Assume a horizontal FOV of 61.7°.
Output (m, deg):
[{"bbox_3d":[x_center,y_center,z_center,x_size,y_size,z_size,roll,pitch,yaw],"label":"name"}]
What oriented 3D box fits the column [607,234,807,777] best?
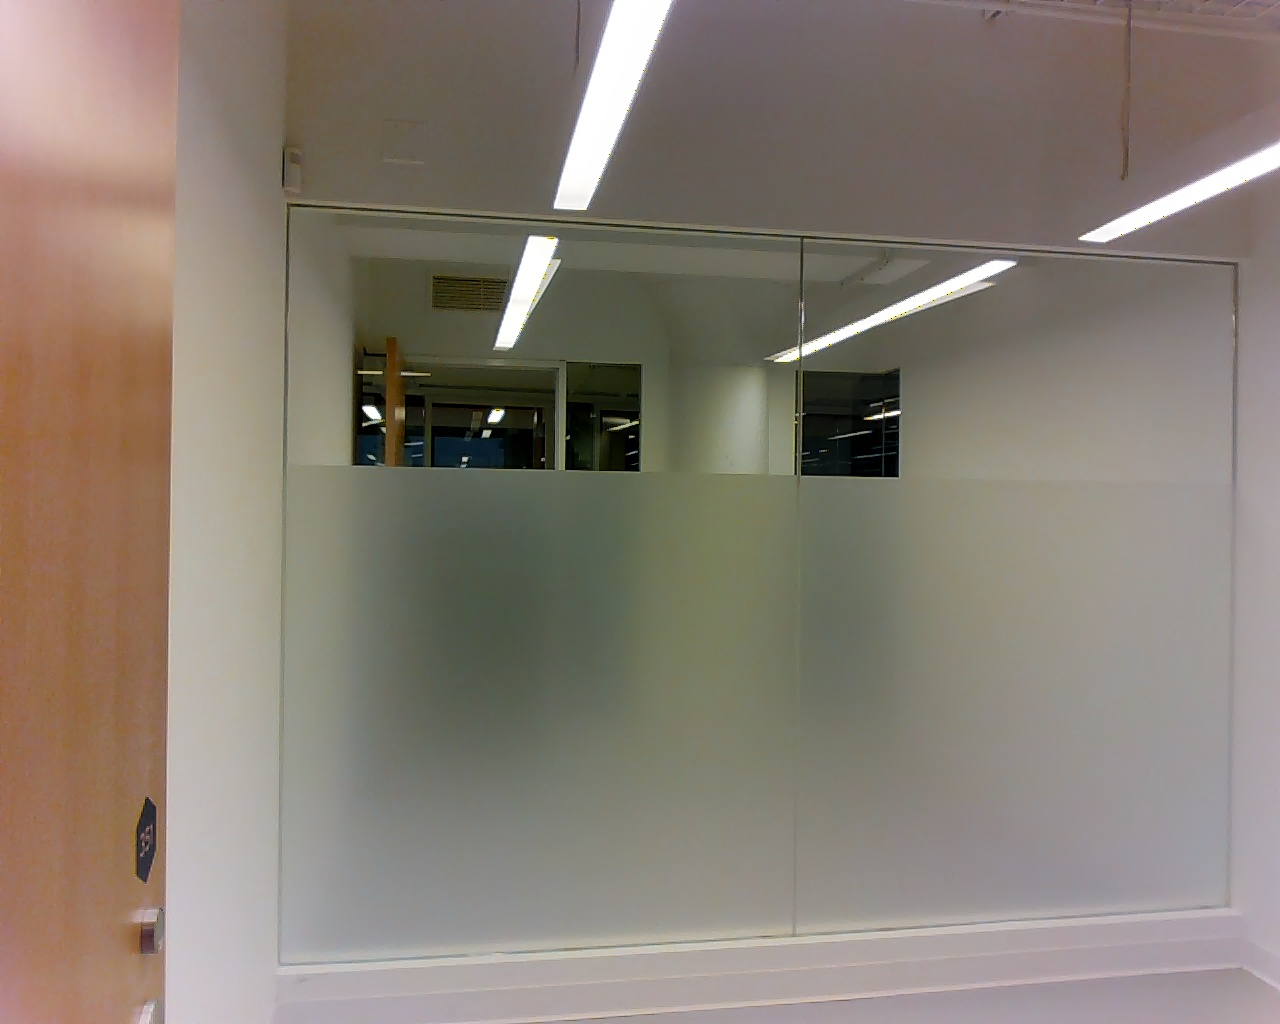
[{"bbox_3d":[0.370,-0.030,6.150,1.010,2.931,0.550,1,0,-11],"label":"column"}]
